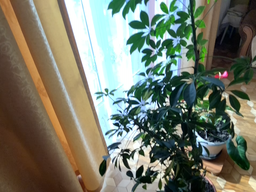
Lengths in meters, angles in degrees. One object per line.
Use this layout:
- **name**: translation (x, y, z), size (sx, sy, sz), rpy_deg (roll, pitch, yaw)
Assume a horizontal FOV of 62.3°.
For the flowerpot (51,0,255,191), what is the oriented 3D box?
- **flowerpot**: translation (0.180, 0.130, 1.020), size (0.440, 1.620, 0.560), rpy_deg (19, 46, 26)
